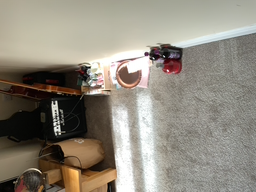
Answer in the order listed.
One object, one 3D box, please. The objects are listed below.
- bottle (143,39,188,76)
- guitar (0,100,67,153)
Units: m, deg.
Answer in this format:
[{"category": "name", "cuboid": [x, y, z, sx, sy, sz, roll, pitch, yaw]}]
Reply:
[{"category": "bottle", "cuboid": [0.250, -0.240, 1.400, 0.200, 0.210, 0.190, -6, 90, 40]}, {"category": "guitar", "cuboid": [-1.160, 0.290, 2.040, 0.360, 1.040, 0.400, -5, 90, 40]}]
